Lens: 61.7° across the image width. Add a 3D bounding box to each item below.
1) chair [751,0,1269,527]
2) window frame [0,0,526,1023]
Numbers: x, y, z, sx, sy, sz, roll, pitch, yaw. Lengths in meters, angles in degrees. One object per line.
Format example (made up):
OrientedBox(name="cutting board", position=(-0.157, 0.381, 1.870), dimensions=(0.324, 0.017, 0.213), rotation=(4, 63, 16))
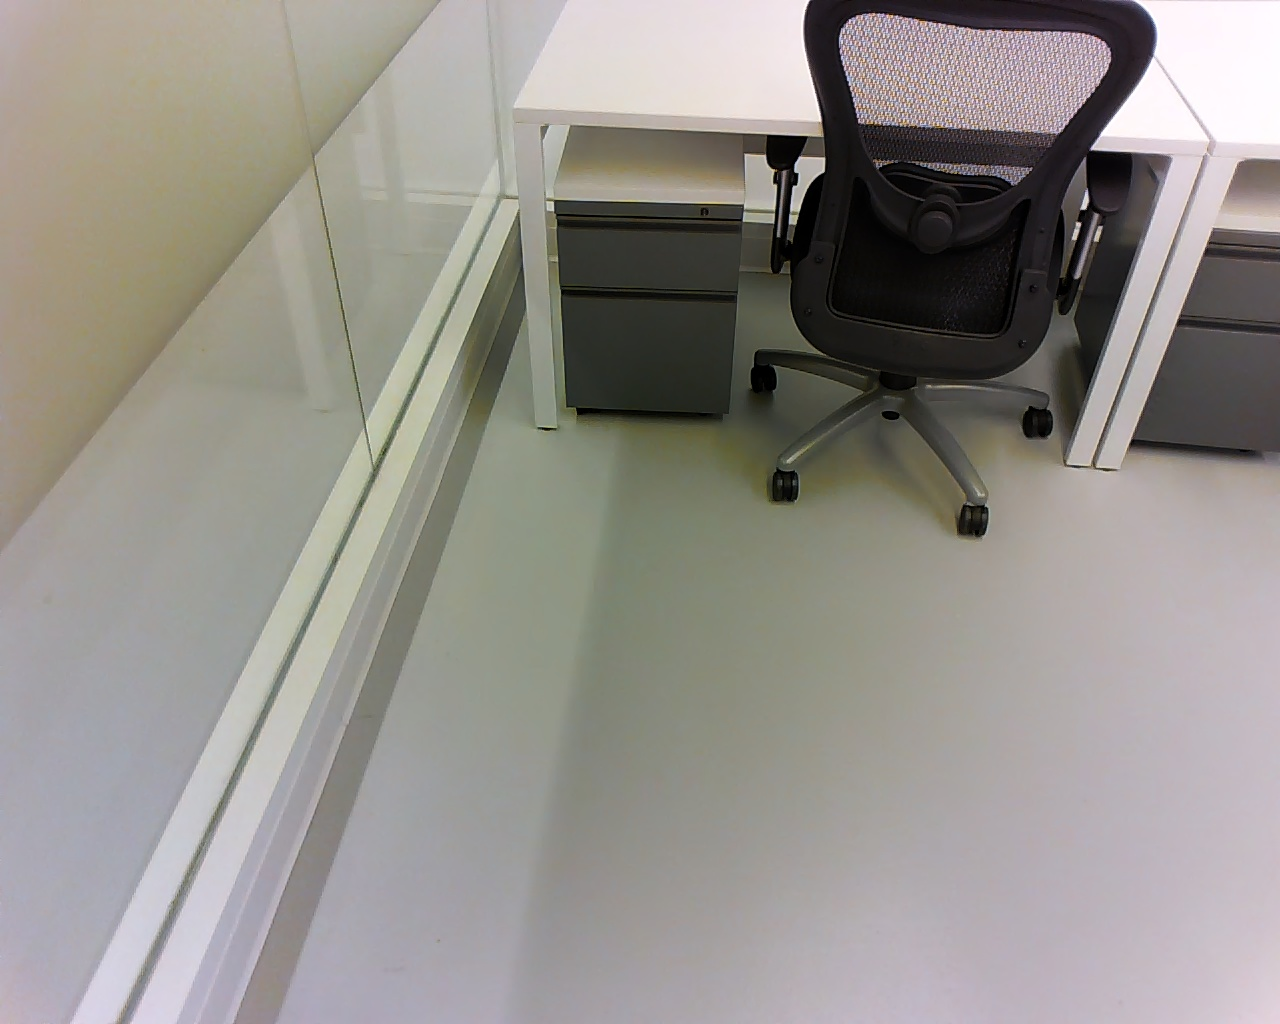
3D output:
OrientedBox(name="chair", position=(0.590, -0.560, 2.070), dimensions=(0.660, 1.040, 0.540), rotation=(4, 42, 5))
OrientedBox(name="window frame", position=(-0.520, -0.770, 1.360), dimensions=(0.100, 2.290, 2.600), rotation=(4, 42, 5))
